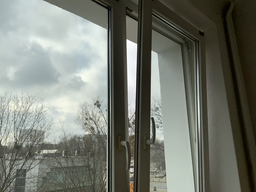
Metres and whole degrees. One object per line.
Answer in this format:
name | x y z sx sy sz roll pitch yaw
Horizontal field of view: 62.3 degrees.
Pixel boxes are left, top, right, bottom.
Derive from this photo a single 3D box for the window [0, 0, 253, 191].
window | 0.110 0.230 1.030 1.660 1.690 0.120 9 -17 -36
